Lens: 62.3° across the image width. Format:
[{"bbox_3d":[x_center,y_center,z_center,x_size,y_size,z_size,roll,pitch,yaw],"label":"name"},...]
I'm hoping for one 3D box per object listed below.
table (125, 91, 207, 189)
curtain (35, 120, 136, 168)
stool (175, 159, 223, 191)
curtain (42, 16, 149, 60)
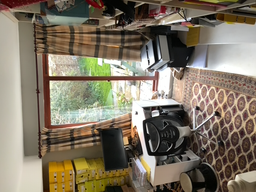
[{"bbox_3d":[0.530,0.690,3.420,0.760,0.720,1.340,127,137,-56],"label":"table"},{"bbox_3d":[-0.650,0.740,3.440,0.280,1.550,0.530,-154,65,-65],"label":"curtain"},{"bbox_3d":[0.940,1.170,2.870,0.380,0.390,0.410,-136,49,-60],"label":"stool"},{"bbox_3d":[-0.420,-0.770,2.970,0.210,1.450,0.460,-151,62,-65],"label":"curtain"}]
